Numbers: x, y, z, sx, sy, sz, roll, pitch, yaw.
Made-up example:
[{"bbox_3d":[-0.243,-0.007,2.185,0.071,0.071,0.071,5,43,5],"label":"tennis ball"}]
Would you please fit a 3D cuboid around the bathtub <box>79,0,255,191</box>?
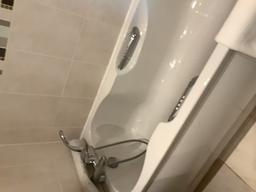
[{"bbox_3d":[0.350,-0.190,1.210,0.700,0.580,1.760,48,123,43],"label":"bathtub"}]
